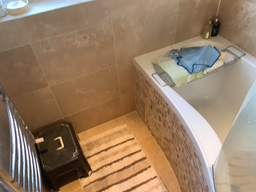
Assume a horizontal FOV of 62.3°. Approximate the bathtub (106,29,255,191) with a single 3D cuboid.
[{"bbox_3d":[0.620,0.360,1.200,0.880,0.590,1.640,-21,48,-16],"label":"bathtub"}]
